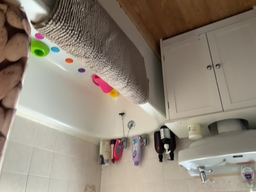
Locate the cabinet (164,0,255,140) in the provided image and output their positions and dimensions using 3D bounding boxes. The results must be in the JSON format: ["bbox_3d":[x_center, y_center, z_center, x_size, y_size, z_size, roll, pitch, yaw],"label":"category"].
[{"bbox_3d":[0.600,-0.140,1.230,0.610,0.620,0.400,-18,148,31],"label":"cabinet"}]

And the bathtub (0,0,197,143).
[{"bbox_3d":[-0.280,-0.230,1.120,0.690,0.530,1.590,-18,148,30],"label":"bathtub"}]

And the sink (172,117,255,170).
[{"bbox_3d":[0.610,0.240,1.050,0.660,0.140,0.380,-18,148,31],"label":"sink"}]
